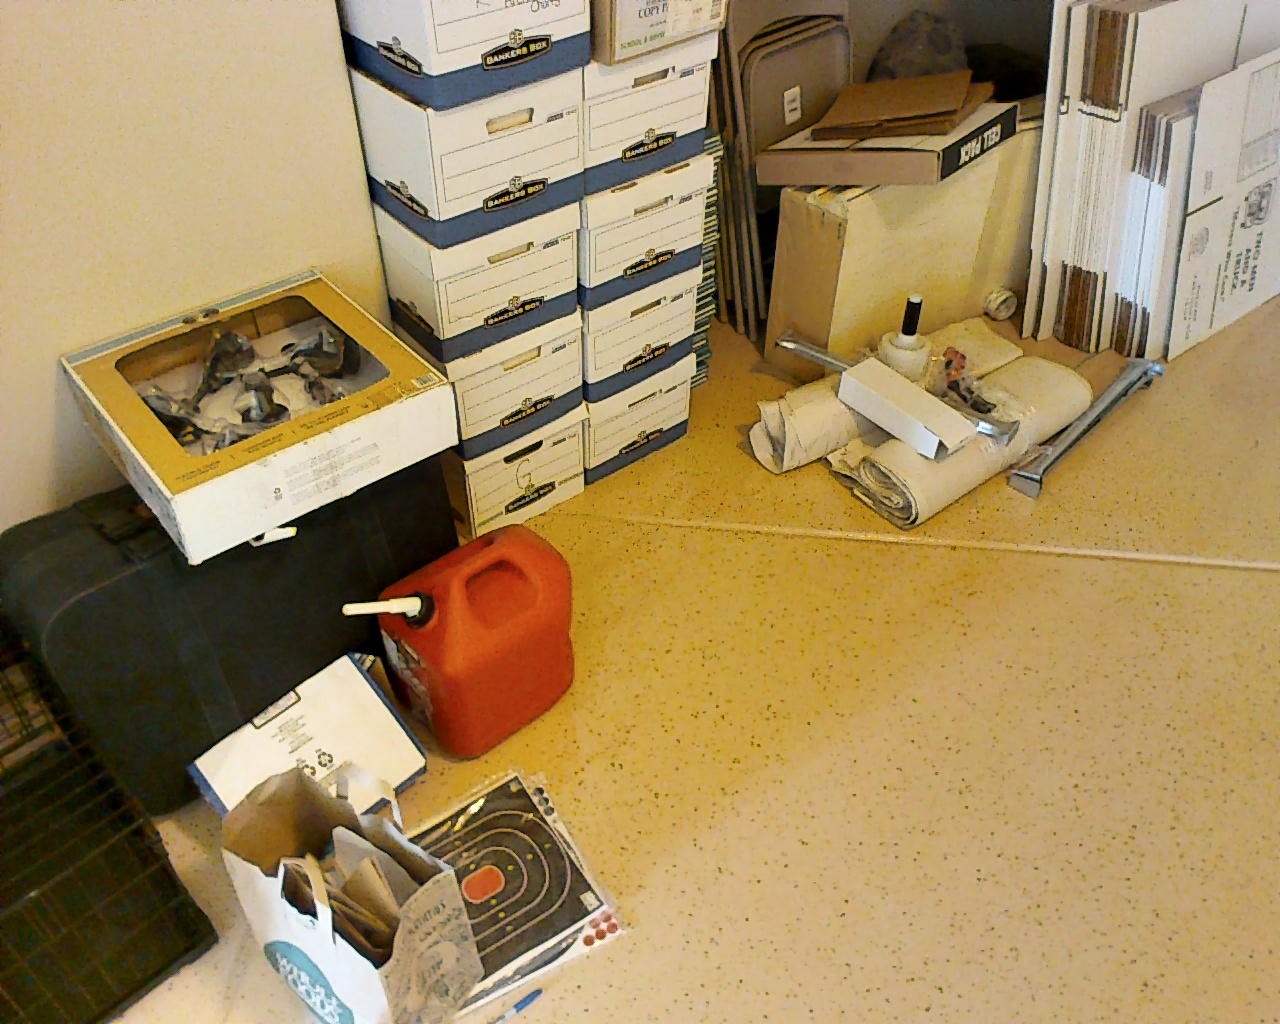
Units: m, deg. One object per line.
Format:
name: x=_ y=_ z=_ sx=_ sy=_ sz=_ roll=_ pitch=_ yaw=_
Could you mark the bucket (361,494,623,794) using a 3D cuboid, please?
bucket: x=-0.260 y=0.240 z=1.990 sx=0.370 sy=0.350 sz=0.260 roll=-27 pitch=49 yaw=-26
